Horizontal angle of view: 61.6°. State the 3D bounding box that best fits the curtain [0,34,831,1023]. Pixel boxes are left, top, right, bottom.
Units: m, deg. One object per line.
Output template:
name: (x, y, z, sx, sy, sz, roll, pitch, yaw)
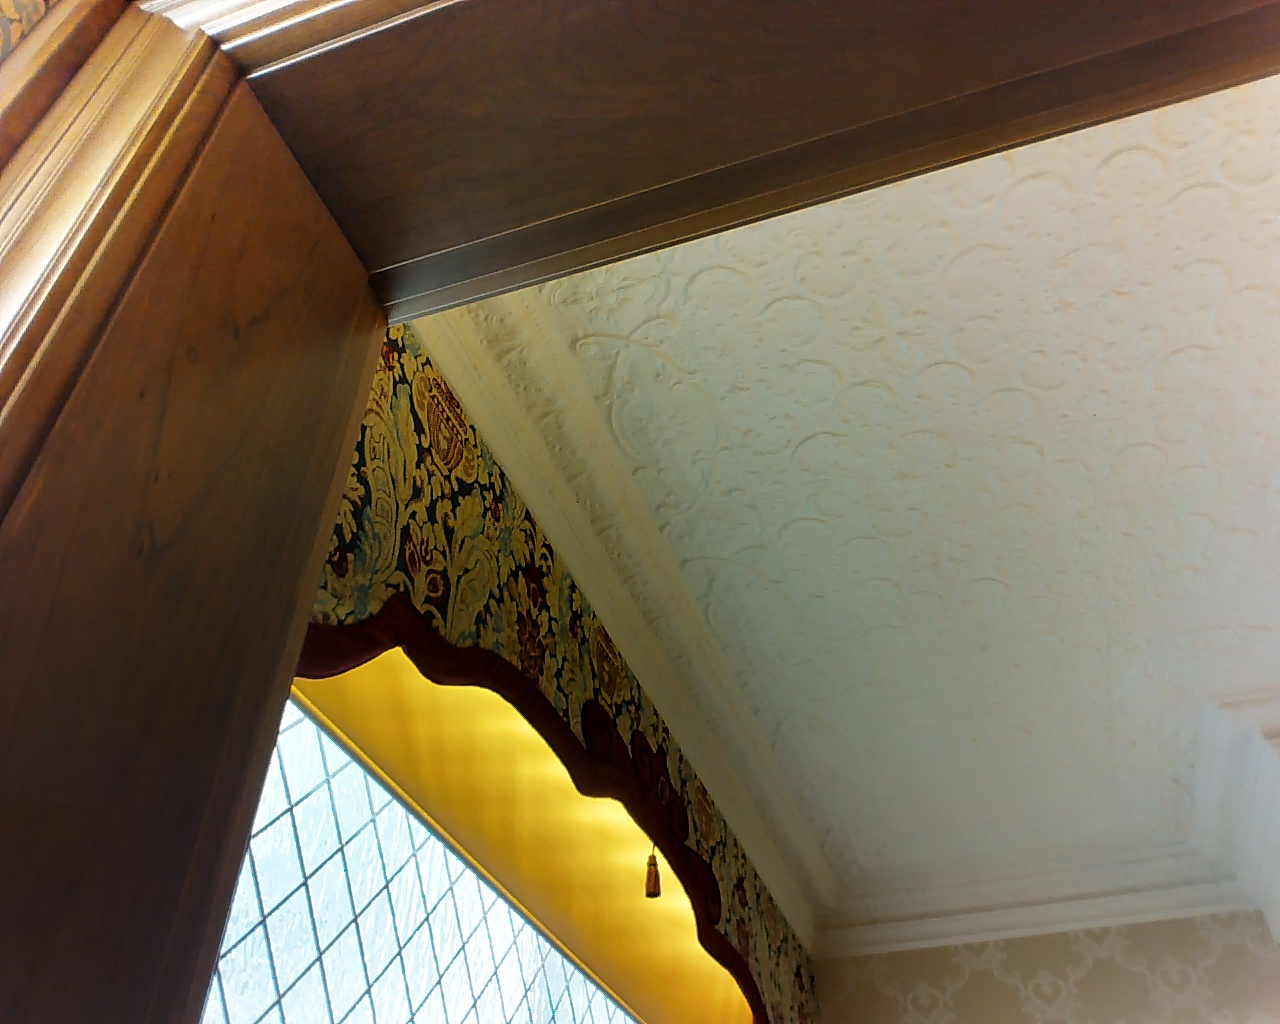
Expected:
curtain: (-0.060, 0.570, 2.260, 0.260, 0.530, 3.010, -12, -43, 16)
